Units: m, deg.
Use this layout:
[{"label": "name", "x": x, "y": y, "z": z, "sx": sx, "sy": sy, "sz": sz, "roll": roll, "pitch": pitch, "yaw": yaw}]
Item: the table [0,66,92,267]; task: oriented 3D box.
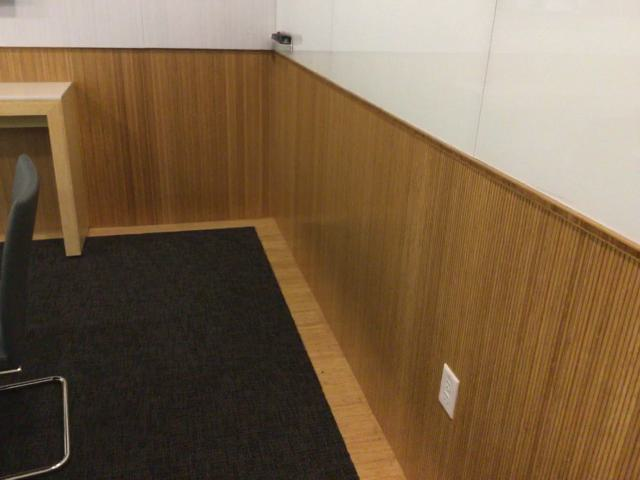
[{"label": "table", "x": -2.010, "y": -0.360, "z": 2.720, "sx": 1.670, "sy": 0.880, "sz": 0.490, "roll": -1, "pitch": 23, "yaw": -17}]

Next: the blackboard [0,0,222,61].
[{"label": "blackboard", "x": -2.080, "y": -1.080, "z": 2.600, "sx": 3.240, "sy": 0.310, "sz": 0.080, "roll": -1, "pitch": 23, "yaw": -17}]

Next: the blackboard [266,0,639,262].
[{"label": "blackboard", "x": 0.140, "y": -0.730, "z": 1.880, "sx": 0.080, "sy": 0.530, "sz": 2.670, "roll": -1, "pitch": 23, "yaw": -17}]
